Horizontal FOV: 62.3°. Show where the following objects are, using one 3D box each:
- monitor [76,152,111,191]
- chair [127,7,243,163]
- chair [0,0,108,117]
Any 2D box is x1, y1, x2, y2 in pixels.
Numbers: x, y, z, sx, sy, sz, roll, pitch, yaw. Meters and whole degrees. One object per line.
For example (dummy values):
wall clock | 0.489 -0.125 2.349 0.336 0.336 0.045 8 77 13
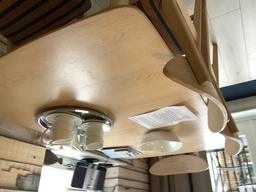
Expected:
monitor | -0.280 0.670 1.810 0.030 0.240 0.390 -16 139 25
chair | 0.370 -0.030 1.490 0.560 0.840 0.520 -15 150 26
chair | -0.460 -0.430 0.770 0.540 0.780 0.570 -15 150 27
